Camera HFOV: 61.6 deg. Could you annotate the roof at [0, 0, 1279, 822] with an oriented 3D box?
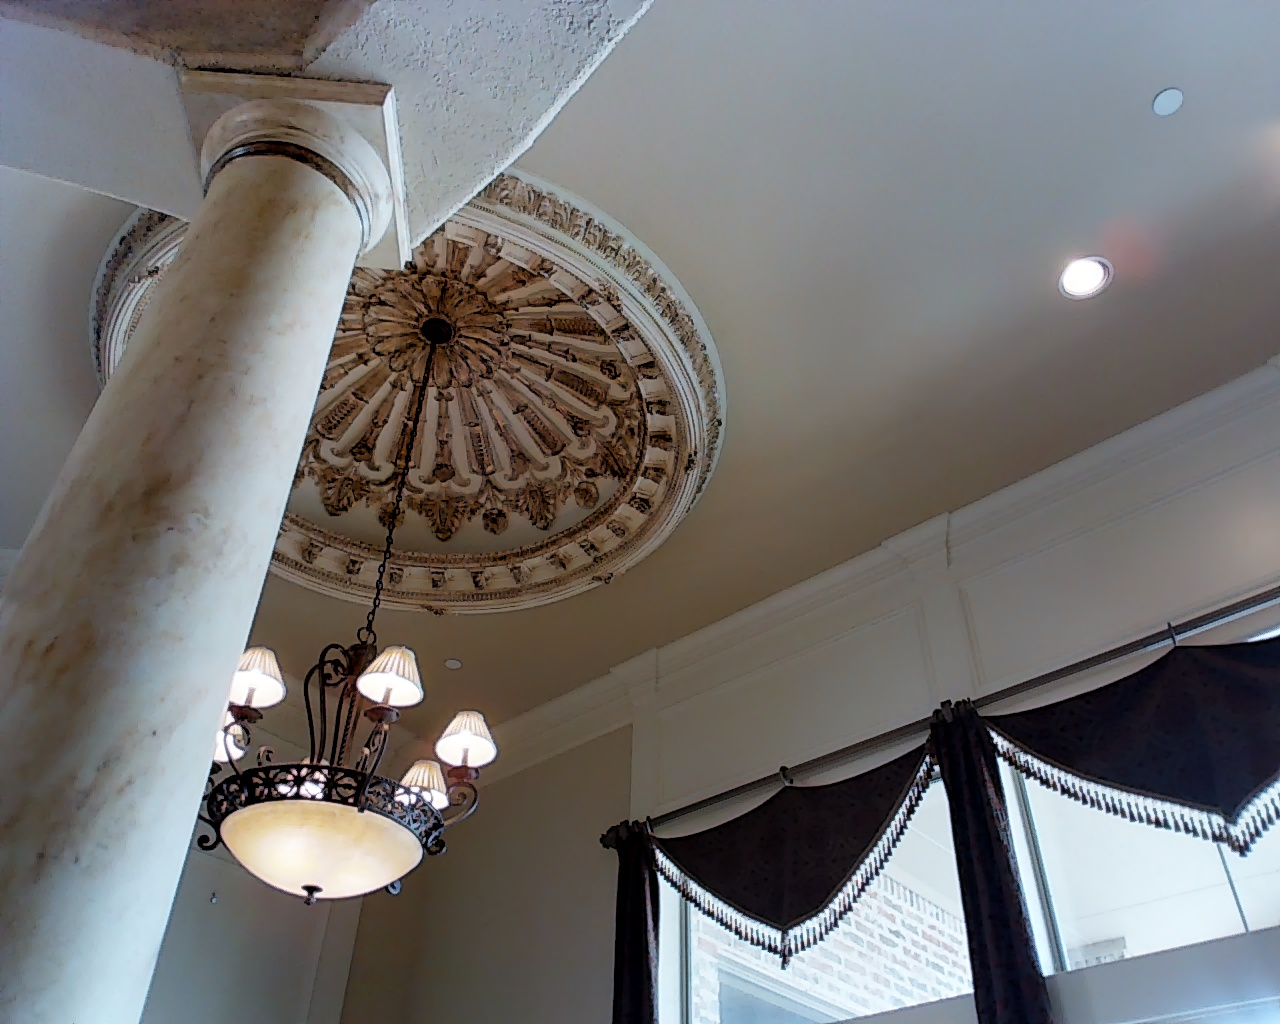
[{"bbox_3d":[-0.320,-0.470,4.030,5.870,0.160,4.300,-30,-50,31],"label":"roof"}]
